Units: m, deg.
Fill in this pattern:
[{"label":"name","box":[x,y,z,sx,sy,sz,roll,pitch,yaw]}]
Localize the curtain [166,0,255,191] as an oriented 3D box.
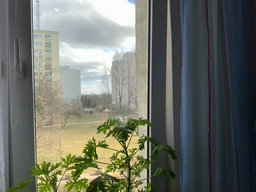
[{"label":"curtain","box":[0.480,-0.150,1.050,0.540,1.720,0.180,-1,-1,-16]}]
